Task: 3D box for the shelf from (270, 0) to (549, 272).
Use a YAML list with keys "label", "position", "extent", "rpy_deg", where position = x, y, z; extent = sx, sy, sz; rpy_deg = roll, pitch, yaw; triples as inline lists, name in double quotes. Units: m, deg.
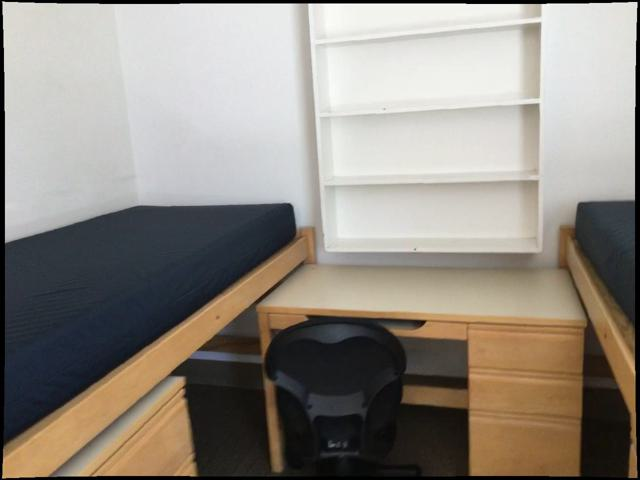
- label: "shelf"
  position: [0.409, -0.481, 2.590]
  extent: [1.137, 1.233, 0.240]
  rpy_deg: [-1, 13, 19]
